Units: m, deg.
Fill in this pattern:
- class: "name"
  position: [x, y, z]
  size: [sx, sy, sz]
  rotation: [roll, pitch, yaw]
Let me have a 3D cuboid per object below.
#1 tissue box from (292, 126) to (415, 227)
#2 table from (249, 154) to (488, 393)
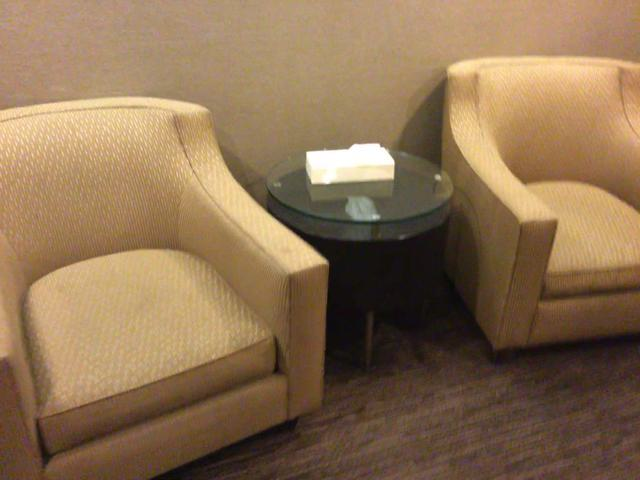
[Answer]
- class: "tissue box"
  position: [0.100, -0.220, 1.910]
  size: [0.320, 0.240, 0.240]
  rotation: [-8, 27, -21]
- class: "table"
  position: [0.120, 0.070, 1.970]
  size: [0.580, 0.540, 0.550]
  rotation: [-8, 27, -21]
